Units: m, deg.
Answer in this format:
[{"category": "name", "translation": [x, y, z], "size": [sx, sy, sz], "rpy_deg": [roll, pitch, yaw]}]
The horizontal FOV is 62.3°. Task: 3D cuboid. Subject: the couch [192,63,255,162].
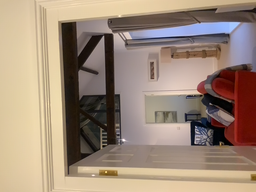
[{"category": "couch", "translation": [1.470, 0.180, 2.970], "size": [1.280, 0.910, 1.090], "rpy_deg": [0, -91, -81]}]
